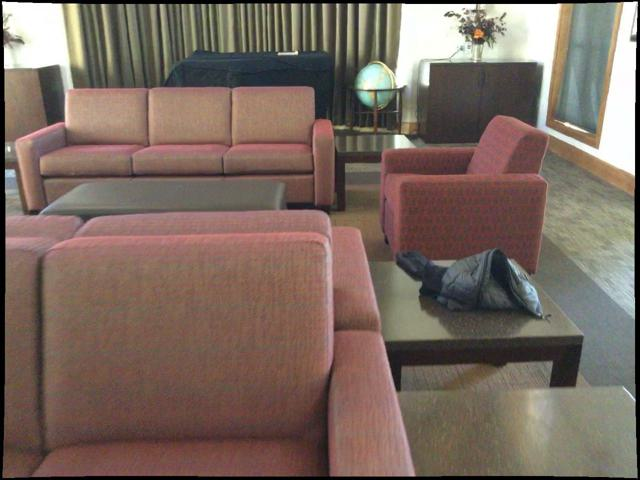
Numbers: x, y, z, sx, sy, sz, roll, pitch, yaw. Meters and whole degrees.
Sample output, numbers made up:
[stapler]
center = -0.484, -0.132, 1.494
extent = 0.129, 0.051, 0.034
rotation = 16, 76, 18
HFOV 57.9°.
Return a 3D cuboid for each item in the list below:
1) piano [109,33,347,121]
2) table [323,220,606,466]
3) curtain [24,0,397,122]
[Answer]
[piano]
center = -0.869, -1.842, 6.350
extent = 2.238, 0.741, 1.680
rotation = 0, 22, 0
[table]
center = 0.420, 0.330, 2.110
extent = 0.809, 0.591, 0.710
rotation = 0, 22, -1
[curtain]
center = -1.259, -2.543, 7.230
extent = 4.286, 1.942, 0.900
rotation = 0, 22, 0
